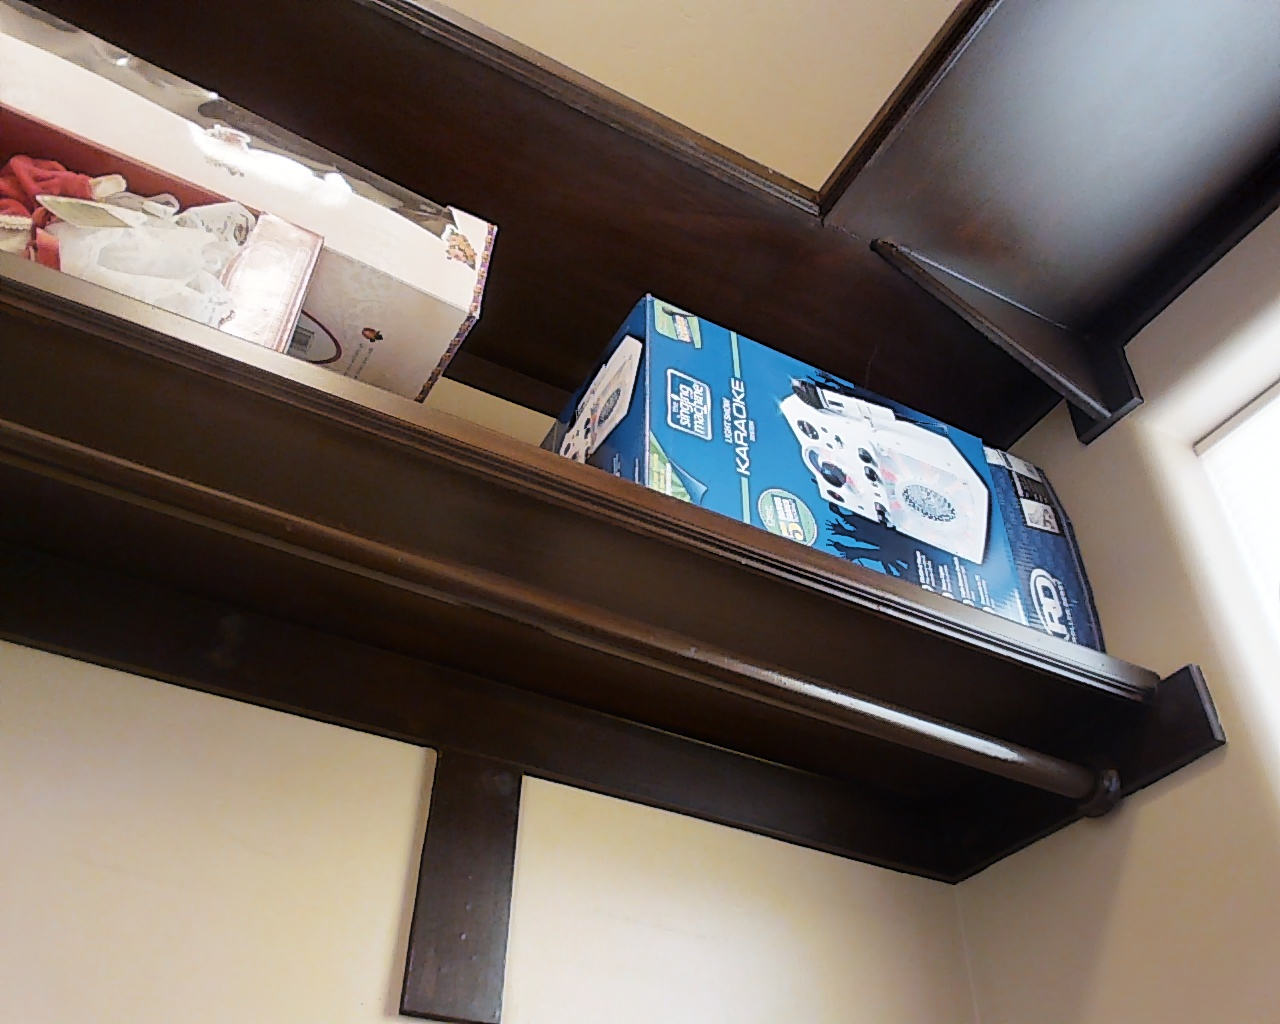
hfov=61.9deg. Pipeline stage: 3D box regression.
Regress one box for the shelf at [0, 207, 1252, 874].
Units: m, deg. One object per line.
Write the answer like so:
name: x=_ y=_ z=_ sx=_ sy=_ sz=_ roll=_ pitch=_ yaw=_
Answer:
shelf: x=-0.080 y=0.090 z=0.890 sx=1.190 sy=0.070 sz=0.390 roll=19 pitch=-43 yaw=-20
